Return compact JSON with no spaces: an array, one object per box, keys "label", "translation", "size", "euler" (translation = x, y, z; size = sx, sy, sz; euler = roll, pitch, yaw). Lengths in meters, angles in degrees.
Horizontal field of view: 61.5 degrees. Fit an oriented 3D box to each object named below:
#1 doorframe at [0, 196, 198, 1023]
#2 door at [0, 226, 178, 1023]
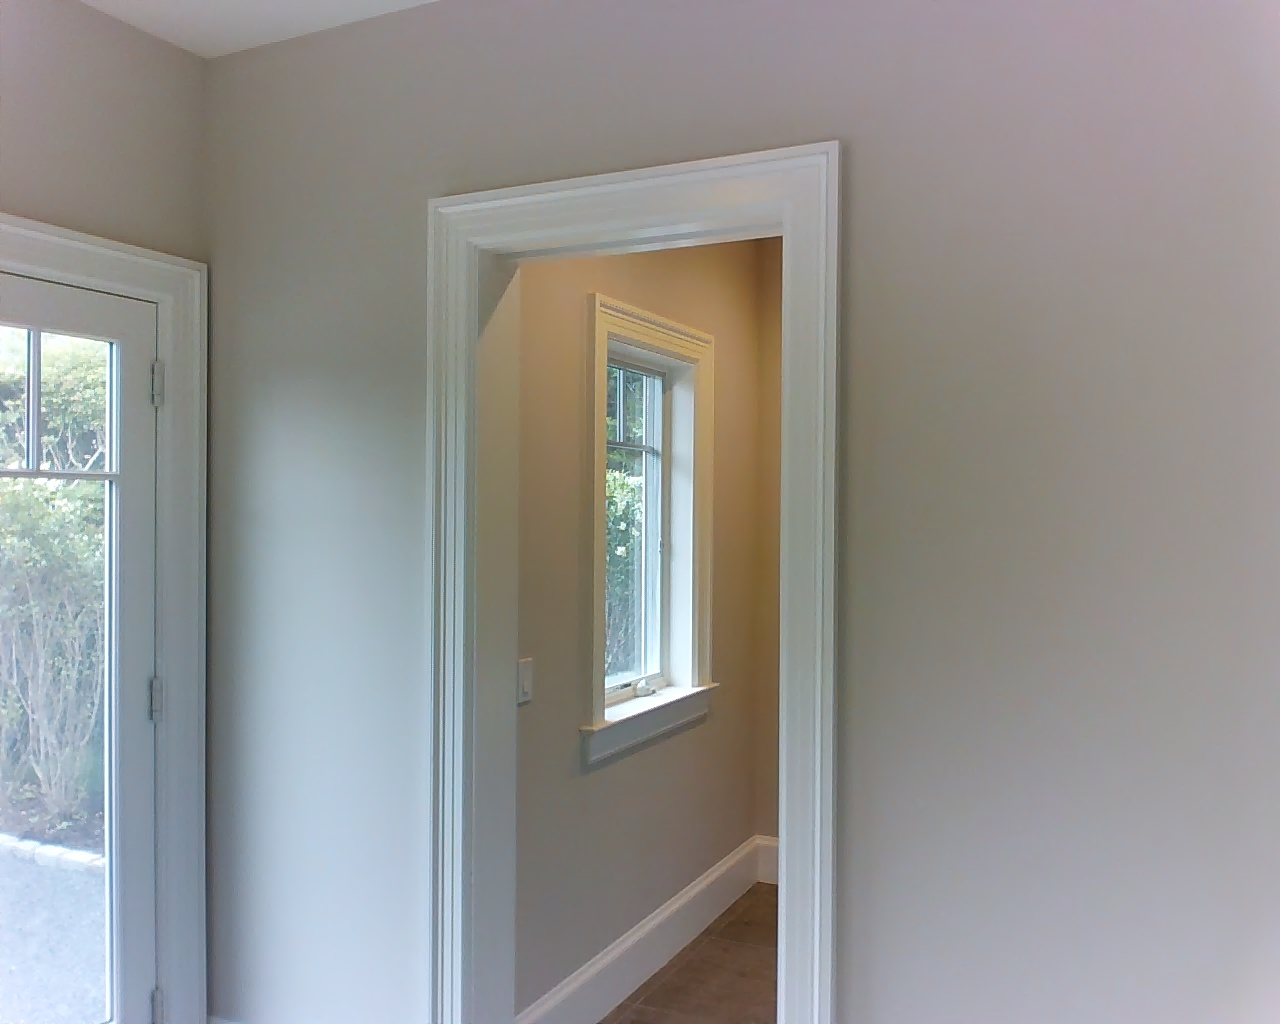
[{"label":"doorframe","translation":[-1.400,0.430,2.340],"size":[0.080,2.210,0.980],"euler":[1,0,27]},{"label":"door","translation":[-1.490,0.480,2.380],"size":[0.140,2.220,0.980],"euler":[1,0,27]}]
